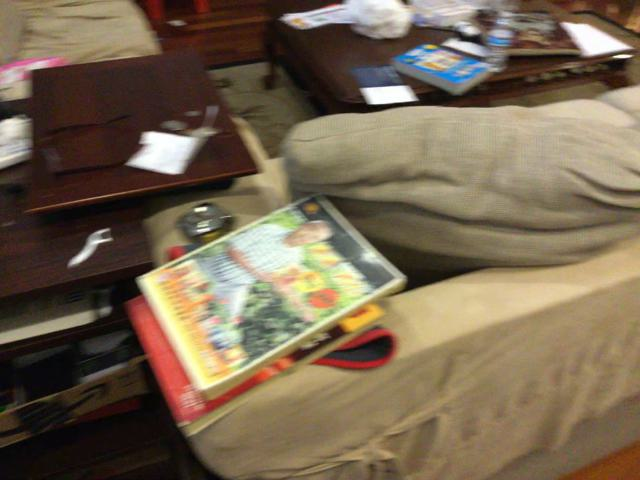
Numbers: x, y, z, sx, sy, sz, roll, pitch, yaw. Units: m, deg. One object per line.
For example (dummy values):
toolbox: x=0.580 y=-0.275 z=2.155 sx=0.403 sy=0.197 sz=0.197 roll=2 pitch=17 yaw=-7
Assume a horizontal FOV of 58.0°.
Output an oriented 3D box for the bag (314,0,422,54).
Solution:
bag: x=0.170 y=-0.840 z=2.150 sx=0.320 sy=0.150 sz=0.250 roll=-15 pitch=45 yaw=-15

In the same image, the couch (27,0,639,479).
couch: x=0.700 y=-0.140 z=1.420 sx=2.330 sy=0.950 sz=0.990 roll=-16 pitch=45 yaw=-16

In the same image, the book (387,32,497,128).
book: x=0.400 y=-0.540 z=1.930 sx=0.220 sy=0.080 sz=0.310 roll=-33 pitch=47 yaw=2
